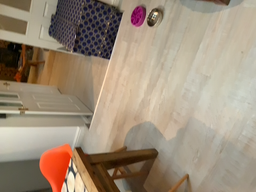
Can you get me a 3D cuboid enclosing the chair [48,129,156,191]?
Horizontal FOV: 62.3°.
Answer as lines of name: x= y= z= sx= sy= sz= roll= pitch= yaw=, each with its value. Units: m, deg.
chair: x=-0.270 y=0.730 z=1.980 sx=0.580 sy=0.680 sz=0.610 roll=37 pitch=115 yaw=48
